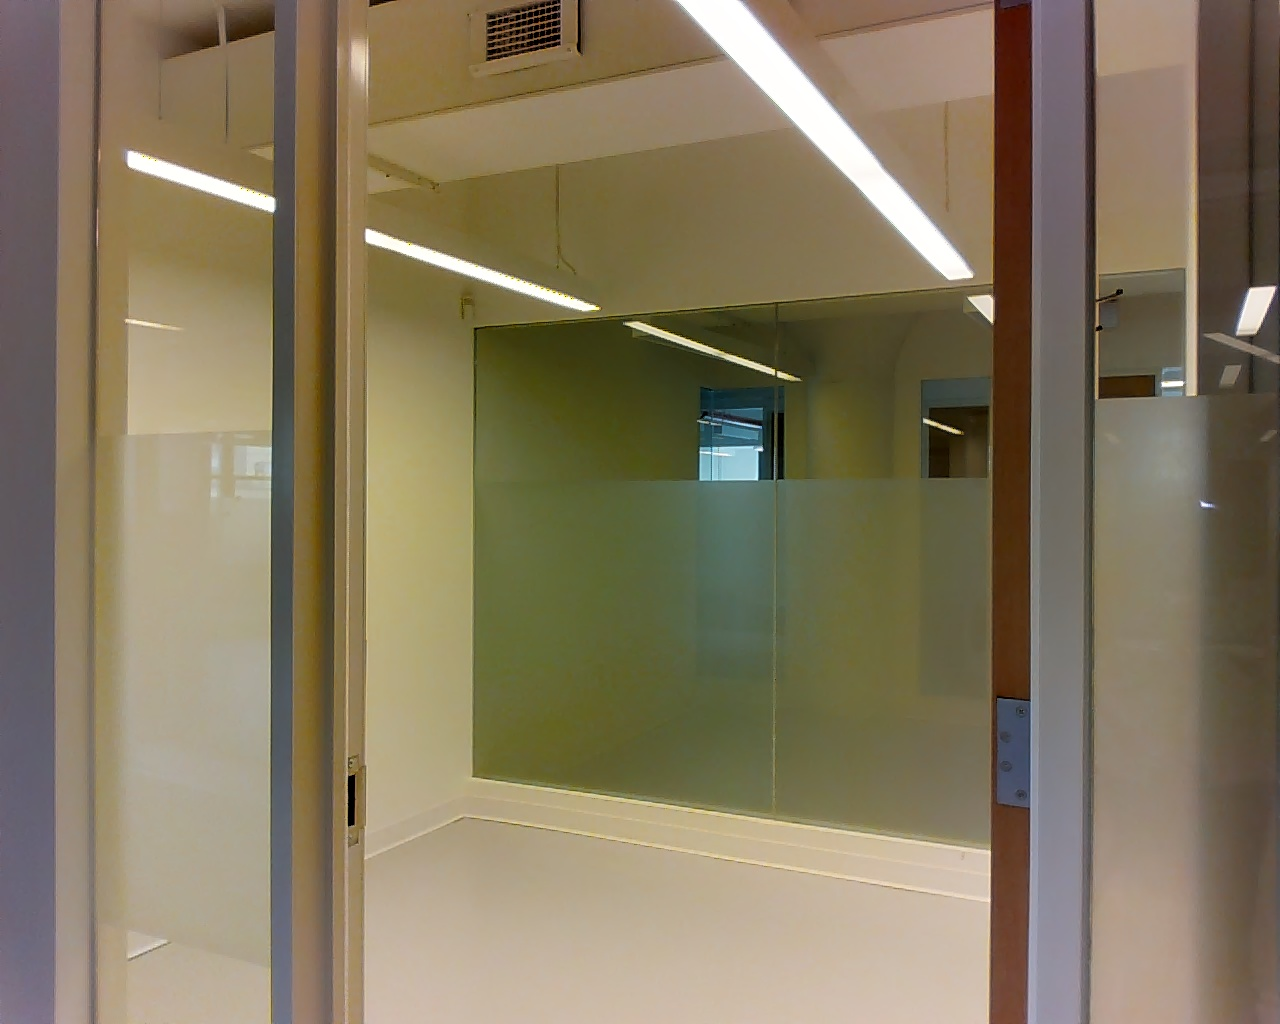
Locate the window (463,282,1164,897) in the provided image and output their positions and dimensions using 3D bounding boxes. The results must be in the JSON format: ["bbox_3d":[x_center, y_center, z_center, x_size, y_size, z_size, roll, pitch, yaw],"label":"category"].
[{"bbox_3d":[0.510,0.250,4.320,2.859,2.100,0.090,1,0,26],"label":"window"}]

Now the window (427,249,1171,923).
[{"bbox_3d":[0.440,0.230,4.290,2.999,2.230,0.200,1,0,26],"label":"window"}]
